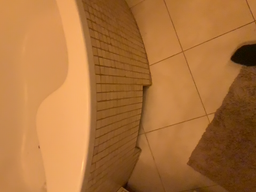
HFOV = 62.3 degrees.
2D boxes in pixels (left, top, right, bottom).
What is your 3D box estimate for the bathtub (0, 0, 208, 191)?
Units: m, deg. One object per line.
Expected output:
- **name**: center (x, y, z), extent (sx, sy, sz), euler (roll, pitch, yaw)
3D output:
- **bathtub**: center (-0.440, -0.010, 1.020), extent (1.040, 0.590, 1.370), euler (28, 102, 18)
